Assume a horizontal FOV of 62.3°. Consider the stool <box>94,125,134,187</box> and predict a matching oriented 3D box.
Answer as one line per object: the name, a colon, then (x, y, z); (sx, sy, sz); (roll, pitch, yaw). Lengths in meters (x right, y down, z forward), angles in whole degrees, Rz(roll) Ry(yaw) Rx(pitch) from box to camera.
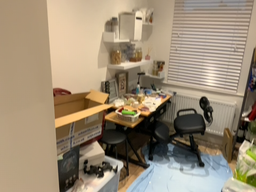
stool: (-0.150, 0.620, 2.250); (0.280, 0.490, 0.310); (12, 20, 29)
